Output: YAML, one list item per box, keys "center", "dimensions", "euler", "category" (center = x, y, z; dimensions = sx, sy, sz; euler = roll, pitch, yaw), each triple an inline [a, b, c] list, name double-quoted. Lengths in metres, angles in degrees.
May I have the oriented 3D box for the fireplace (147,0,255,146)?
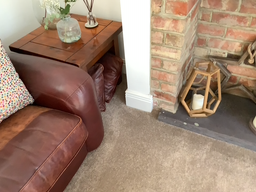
- center: [0.790, -0.300, 1.220]
  dimensions: [1.280, 1.250, 0.460]
  euler: [17, 48, 22]
  category: "fireplace"

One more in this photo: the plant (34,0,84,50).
- center: [-0.430, -0.510, 1.340]
  dimensions: [0.170, 0.370, 0.160]
  euler: [16, 48, 20]
  category: "plant"
